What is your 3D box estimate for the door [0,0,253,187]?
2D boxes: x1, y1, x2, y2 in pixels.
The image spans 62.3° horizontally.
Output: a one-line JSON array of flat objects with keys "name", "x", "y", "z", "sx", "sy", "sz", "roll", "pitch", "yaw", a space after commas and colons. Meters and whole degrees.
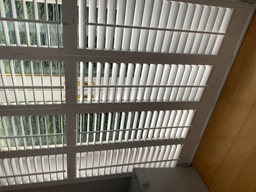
[{"name": "door", "x": -0.280, "y": 0.070, "z": 1.500, "sx": 0.070, "sy": 2.020, "sz": 1.480, "roll": -114, "pitch": 28, "yaw": -54}]
